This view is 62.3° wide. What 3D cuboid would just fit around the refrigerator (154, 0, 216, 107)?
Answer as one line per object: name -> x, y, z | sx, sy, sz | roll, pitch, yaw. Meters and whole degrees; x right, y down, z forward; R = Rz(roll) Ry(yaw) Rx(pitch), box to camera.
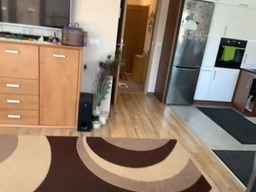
refrigerator -> 1.110, -0.870, 4.420 | 0.640, 2.020, 0.710 | 4, 18, -10
